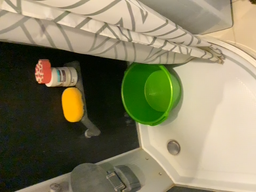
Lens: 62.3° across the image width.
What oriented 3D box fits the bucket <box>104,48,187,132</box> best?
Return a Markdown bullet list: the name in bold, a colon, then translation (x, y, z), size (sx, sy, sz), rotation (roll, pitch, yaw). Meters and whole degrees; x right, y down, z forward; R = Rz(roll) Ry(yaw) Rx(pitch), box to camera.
- **bucket**: translation (0.100, -0.020, 1.270), size (0.330, 0.280, 0.400), rotation (-15, 82, 41)
